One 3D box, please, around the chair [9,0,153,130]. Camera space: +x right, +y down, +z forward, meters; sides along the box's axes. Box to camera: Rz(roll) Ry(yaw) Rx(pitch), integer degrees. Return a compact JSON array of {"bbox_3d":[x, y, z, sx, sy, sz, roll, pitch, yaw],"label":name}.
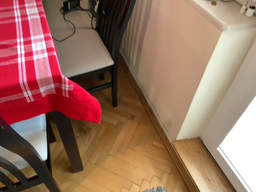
[{"bbox_3d":[-0.250,-0.310,1.250,0.600,0.970,0.390,-16,52,-17],"label":"chair"}]
